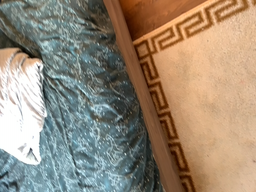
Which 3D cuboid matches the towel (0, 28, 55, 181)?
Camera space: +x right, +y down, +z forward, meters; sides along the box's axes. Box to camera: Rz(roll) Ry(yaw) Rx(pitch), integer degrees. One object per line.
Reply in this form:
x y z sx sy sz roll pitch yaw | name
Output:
-0.910 0.050 1.330 1.080 0.190 0.690 -1 94 34 | towel
